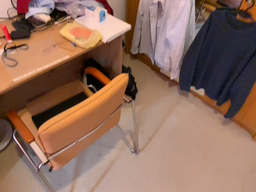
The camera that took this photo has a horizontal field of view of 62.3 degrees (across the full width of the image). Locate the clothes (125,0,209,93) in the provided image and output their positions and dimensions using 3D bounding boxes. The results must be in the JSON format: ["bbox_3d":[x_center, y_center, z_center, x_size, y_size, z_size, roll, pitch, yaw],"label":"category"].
[{"bbox_3d":[0.250,-0.510,1.800,0.160,0.840,0.610,-35,59,-29],"label":"clothes"}]

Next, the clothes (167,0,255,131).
[{"bbox_3d":[0.640,-0.190,1.600,0.160,0.840,0.570,-34,58,-28],"label":"clothes"}]

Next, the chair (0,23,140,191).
[{"bbox_3d":[-0.340,0.150,1.250,0.500,0.840,0.560,-36,59,-29],"label":"chair"}]
